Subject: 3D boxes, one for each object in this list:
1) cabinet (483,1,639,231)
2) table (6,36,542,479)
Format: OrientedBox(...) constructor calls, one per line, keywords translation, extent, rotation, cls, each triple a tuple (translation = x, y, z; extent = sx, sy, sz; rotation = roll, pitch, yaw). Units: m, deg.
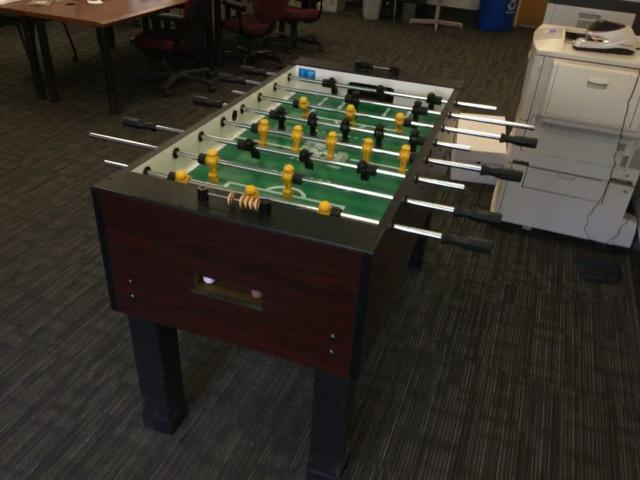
OrientedBox(translation=(1.230, -0.640, 2.830), extent=(0.600, 0.810, 0.770), rotation=(14, 34, 15), cls="cabinet")
OrientedBox(translation=(0.040, -0.020, 2.010), extent=(1.160, 0.870, 1.480), rotation=(12, 34, 12), cls="table")
